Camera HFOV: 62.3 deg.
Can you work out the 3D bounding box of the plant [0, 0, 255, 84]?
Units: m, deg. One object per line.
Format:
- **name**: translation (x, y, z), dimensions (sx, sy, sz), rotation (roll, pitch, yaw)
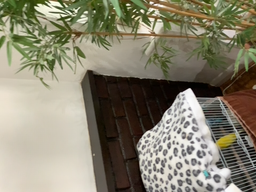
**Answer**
- **plant**: translation (0.250, -0.400, 0.860), dimensions (0.540, 1.620, 0.520), rotation (-14, 76, 60)
